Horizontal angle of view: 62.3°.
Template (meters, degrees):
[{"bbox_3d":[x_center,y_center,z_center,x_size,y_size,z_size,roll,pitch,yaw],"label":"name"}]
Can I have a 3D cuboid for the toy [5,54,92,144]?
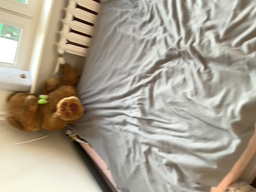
[{"bbox_3d":[-0.680,0.050,1.750,0.490,0.480,0.500,-40,57,38],"label":"toy"}]

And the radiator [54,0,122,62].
[{"bbox_3d":[-0.350,-0.680,1.900,0.180,0.430,0.650,32,109,46],"label":"radiator"}]
